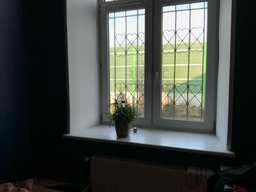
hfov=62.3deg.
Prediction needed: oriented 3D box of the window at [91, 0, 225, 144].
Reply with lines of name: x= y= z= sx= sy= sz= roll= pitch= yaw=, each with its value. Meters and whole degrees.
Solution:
window: x=0.280 y=-0.670 z=2.340 sx=1.410 sy=2.230 sz=0.260 roll=1 pitch=5 yaw=21

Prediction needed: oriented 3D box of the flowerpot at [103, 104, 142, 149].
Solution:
flowerpot: x=-0.050 y=0.290 z=2.150 sx=0.320 sy=0.380 sz=0.250 roll=2 pitch=5 yaw=24

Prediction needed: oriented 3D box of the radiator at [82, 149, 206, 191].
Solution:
radiator: x=0.110 y=0.940 z=1.850 sx=1.050 sy=0.830 sz=0.150 roll=1 pitch=5 yaw=19
